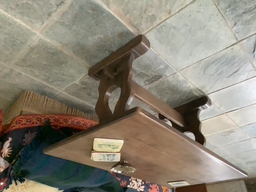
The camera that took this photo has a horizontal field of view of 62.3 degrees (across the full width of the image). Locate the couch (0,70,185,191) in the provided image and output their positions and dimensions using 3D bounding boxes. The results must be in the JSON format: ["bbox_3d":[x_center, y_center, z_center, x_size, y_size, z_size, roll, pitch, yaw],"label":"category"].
[{"bbox_3d":[-0.360,0.710,1.610,0.900,0.880,1.560,-26,139,35],"label":"couch"}]
